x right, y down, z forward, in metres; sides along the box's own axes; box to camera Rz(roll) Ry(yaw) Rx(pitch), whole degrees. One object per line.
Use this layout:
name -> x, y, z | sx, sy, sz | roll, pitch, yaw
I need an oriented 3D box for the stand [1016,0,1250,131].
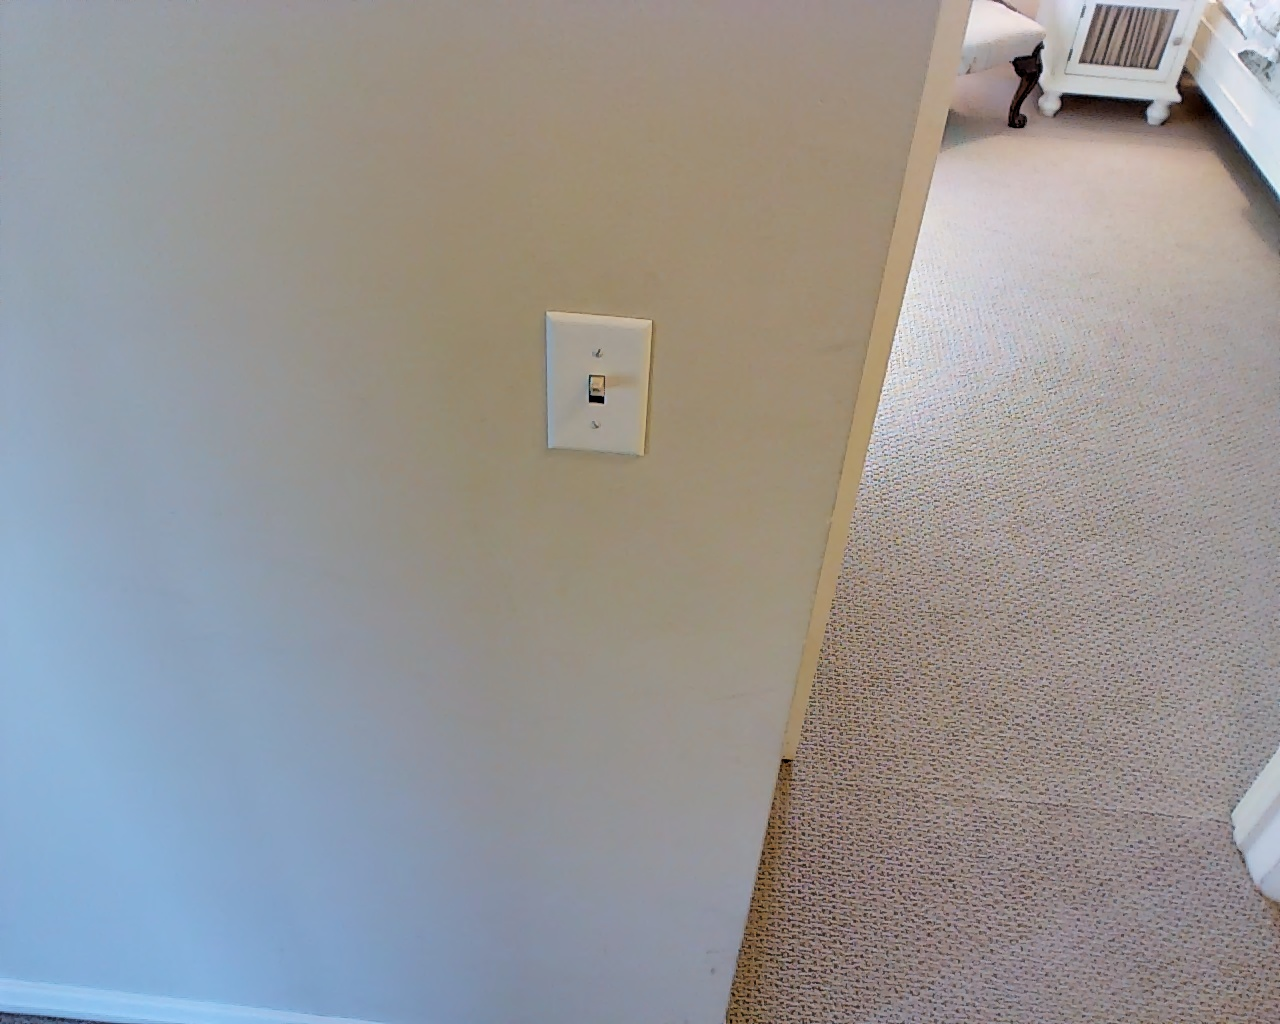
stand -> 1.860, -1.900, 4.060 | 0.600, 0.690, 0.510 | 5, 43, 2
